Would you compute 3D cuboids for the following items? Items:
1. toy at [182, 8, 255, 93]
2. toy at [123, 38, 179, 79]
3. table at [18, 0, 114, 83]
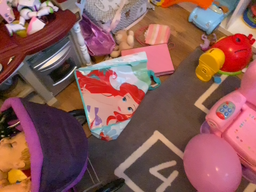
[{"bbox_3d":[0.520,-0.240,1.130,0.380,0.200,0.210,-37,70,-15],"label":"toy"},{"bbox_3d":[0.120,-0.210,1.180,0.270,0.080,0.170,-10,66,-4],"label":"toy"},{"bbox_3d":[-0.320,-0.400,0.990,0.490,0.550,0.180,42,72,18],"label":"table"}]
